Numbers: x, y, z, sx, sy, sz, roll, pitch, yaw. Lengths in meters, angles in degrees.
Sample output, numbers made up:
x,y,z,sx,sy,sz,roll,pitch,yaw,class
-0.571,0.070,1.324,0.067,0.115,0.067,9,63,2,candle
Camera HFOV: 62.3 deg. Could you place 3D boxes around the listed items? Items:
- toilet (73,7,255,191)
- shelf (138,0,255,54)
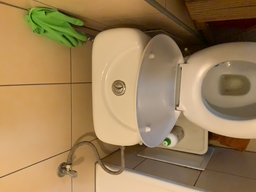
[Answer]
x,y,z,sx,sy,sz,roll,pitch,yaw,class
0.310,-0.030,0.840,0.650,0.800,0.370,5,97,29,toilet
0.400,-0.290,0.770,0.390,0.820,0.190,8,98,29,shelf
